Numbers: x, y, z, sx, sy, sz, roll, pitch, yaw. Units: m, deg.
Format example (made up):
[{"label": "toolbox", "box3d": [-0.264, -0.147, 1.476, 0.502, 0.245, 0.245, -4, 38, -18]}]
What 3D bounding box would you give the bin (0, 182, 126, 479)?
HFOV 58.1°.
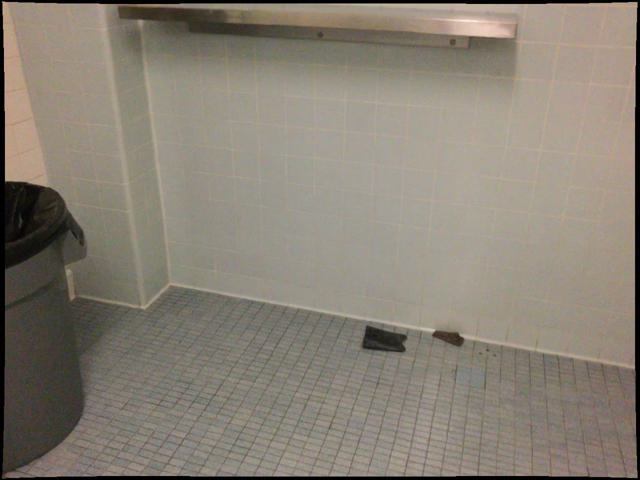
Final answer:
[{"label": "bin", "box3d": [-1.007, 0.261, 1.640, 0.609, 0.701, 0.550, 9, 26, 12]}]
